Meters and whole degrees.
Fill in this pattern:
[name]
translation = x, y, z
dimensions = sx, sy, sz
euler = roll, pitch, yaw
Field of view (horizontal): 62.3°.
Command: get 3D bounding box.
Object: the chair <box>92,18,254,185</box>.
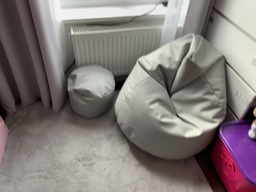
[chair]
translation = 0.280, -0.010, 1.390
dimensions = 0.730, 0.600, 0.710
euler = 17, 45, 13
